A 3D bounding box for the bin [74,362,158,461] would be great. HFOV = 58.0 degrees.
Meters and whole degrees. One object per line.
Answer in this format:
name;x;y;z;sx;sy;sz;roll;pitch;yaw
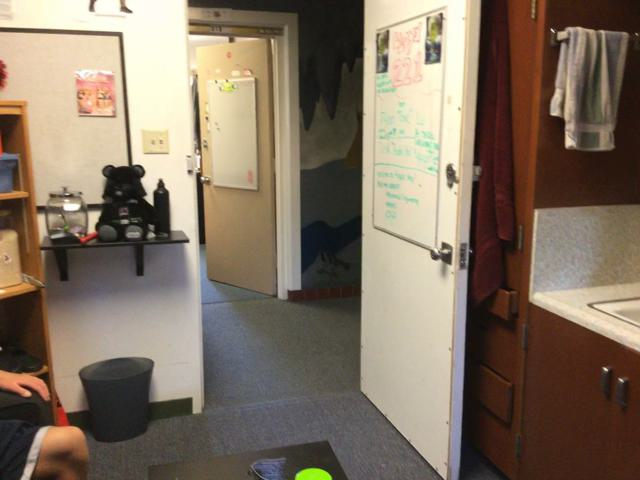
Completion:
bin;-0.930;0.780;2.670;0.330;0.320;0.250;-4;9;-16
